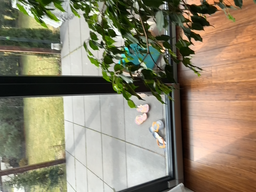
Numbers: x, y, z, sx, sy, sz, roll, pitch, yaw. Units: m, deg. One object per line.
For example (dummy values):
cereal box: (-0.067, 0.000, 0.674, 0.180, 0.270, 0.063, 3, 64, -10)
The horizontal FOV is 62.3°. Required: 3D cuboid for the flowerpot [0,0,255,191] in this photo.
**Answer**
flowerpot: (0.170, -0.520, 0.980, 0.990, 1.330, 1.210, 3, 95, 57)
